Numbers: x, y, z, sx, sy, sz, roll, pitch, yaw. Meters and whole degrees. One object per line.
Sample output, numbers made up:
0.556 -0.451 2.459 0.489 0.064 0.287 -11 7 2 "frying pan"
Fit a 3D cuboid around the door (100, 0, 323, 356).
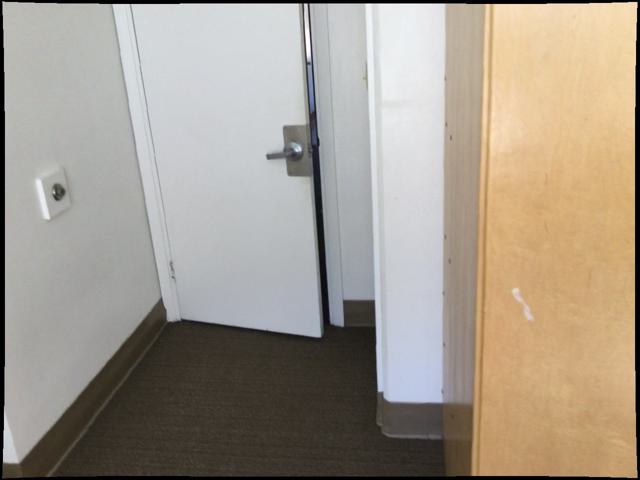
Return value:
-0.489 -0.451 2.650 0.908 2.015 0.140 4 20 21 "door"
